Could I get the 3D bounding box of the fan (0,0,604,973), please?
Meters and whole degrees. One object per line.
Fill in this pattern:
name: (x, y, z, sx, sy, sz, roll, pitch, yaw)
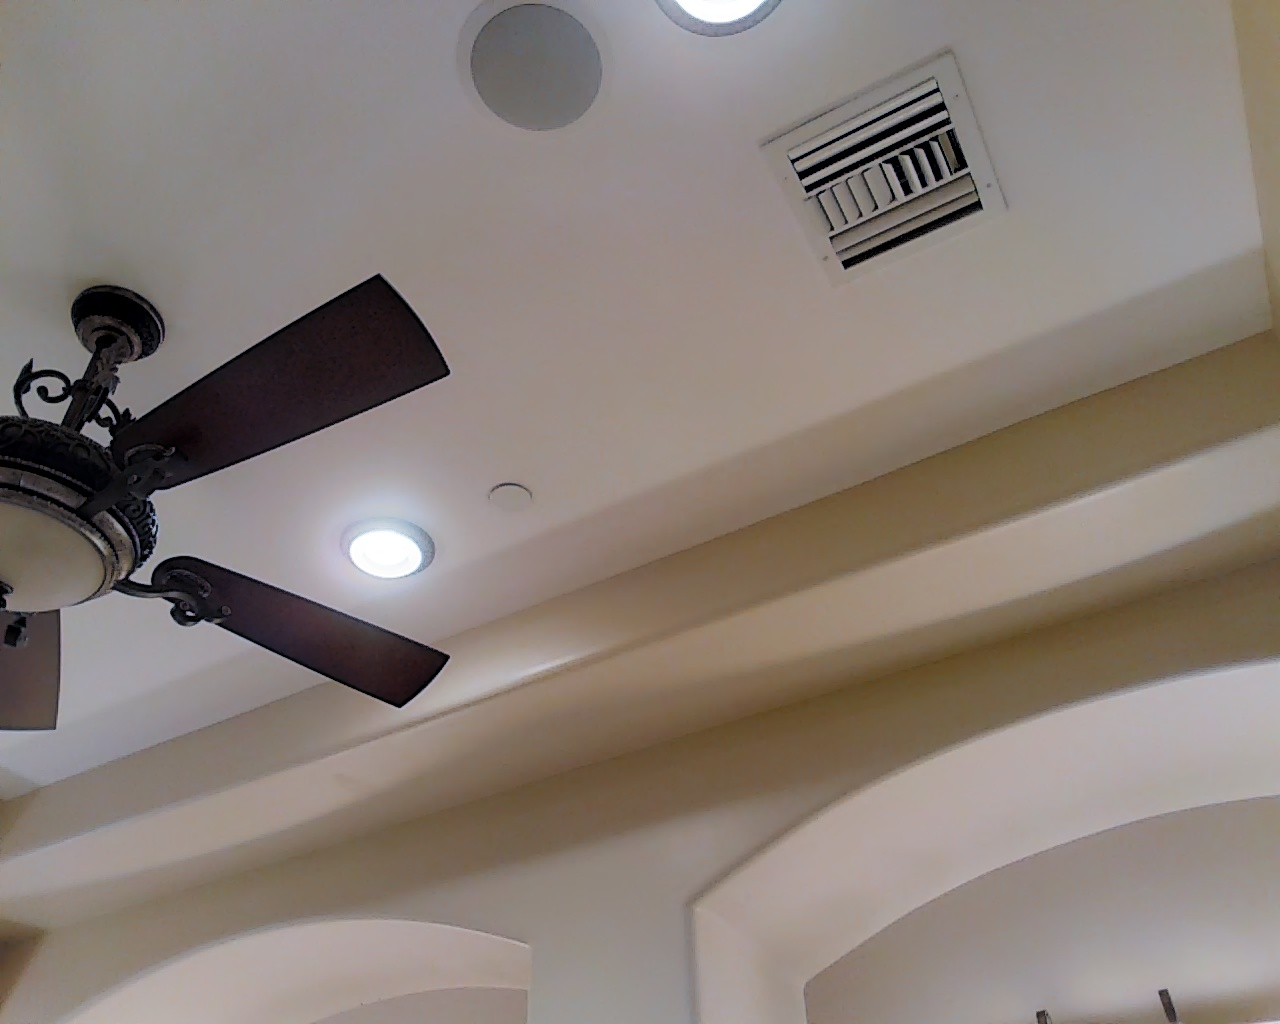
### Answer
fan: (-0.820, -0.110, 1.660, 1.420, 1.340, 0.580, -22, -46, 21)
